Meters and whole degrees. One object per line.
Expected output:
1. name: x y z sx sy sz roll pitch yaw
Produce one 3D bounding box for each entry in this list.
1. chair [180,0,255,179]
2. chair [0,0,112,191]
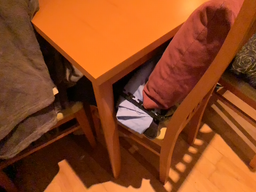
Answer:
1. chair: 0.630 -0.160 0.870 0.380 1.070 0.540 -27 56 -18
2. chair: -0.440 -0.030 0.800 0.550 1.070 0.400 -28 57 -19
